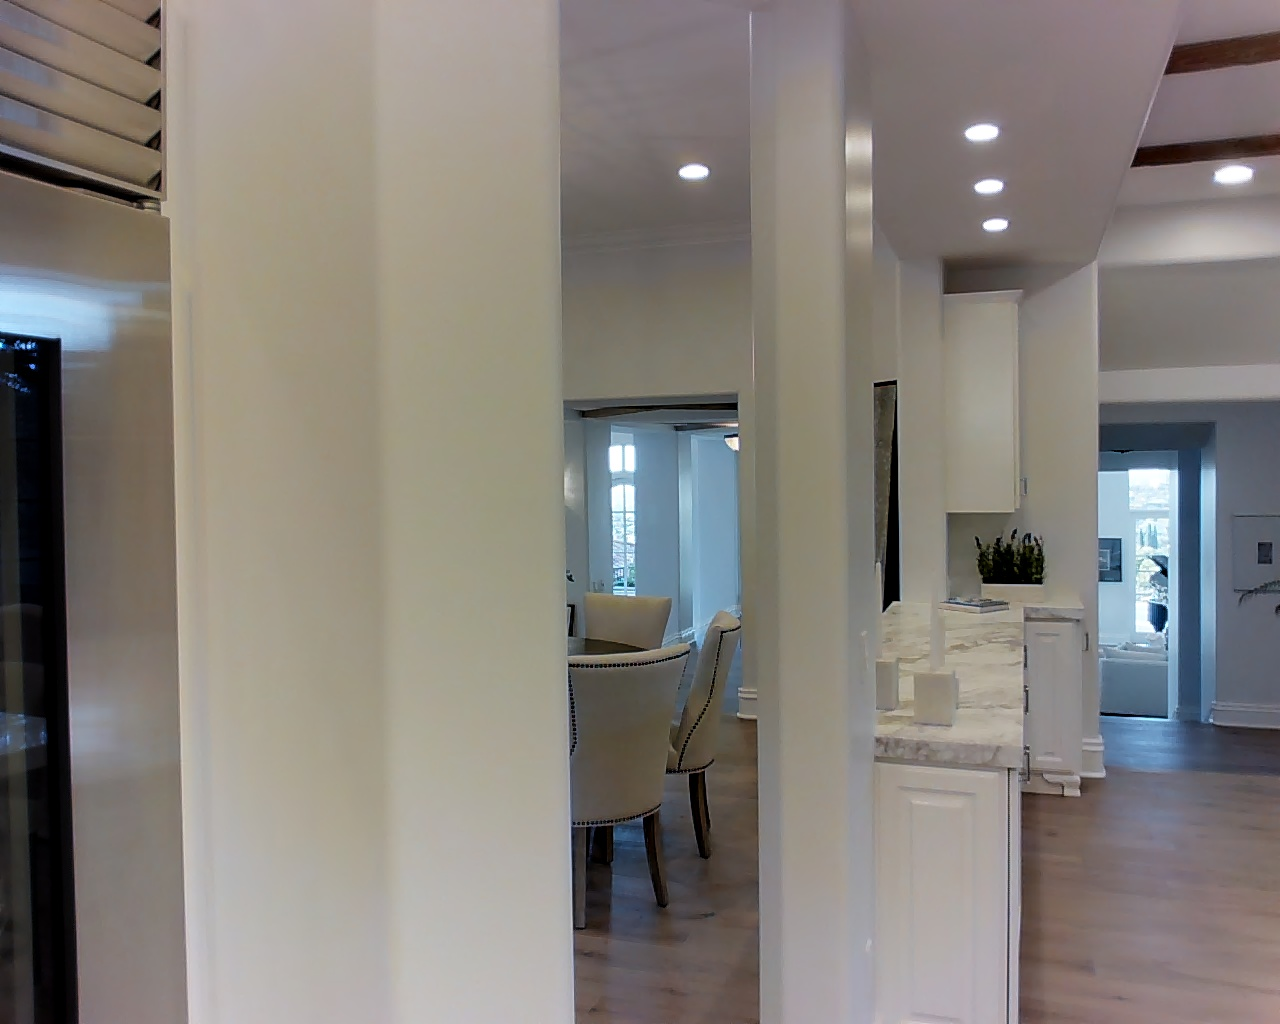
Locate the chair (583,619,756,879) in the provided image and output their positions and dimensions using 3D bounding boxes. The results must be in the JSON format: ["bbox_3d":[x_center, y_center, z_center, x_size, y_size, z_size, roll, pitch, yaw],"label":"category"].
[{"bbox_3d":[0.140,1.010,4.730,0.700,1.000,0.590,-1,2,4],"label":"chair"}]
